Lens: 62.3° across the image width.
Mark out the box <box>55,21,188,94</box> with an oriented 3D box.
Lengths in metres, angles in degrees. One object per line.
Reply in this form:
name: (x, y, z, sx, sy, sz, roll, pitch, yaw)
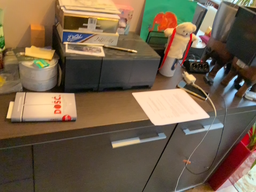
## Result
box: (-0.040, -0.180, 1.000, 0.540, 0.190, 0.270, -3, 41, -26)
